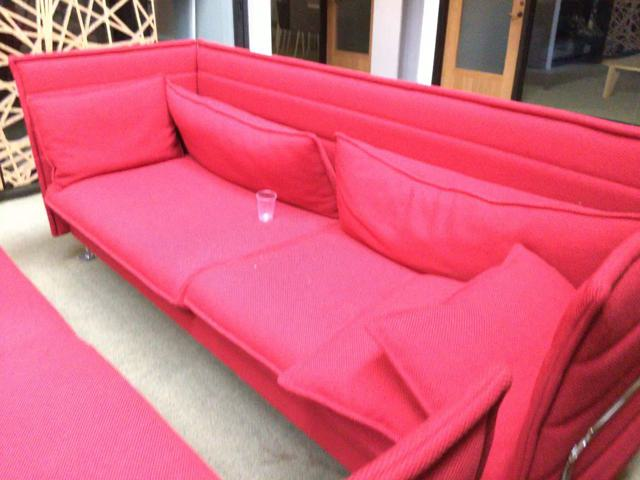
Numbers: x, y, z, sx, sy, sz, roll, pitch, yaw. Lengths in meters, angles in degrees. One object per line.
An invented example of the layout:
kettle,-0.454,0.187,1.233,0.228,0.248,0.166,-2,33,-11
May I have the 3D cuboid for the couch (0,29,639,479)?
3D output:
couch,-0.150,-0.120,1.960,1.000,1.010,2.480,-23,31,-37
